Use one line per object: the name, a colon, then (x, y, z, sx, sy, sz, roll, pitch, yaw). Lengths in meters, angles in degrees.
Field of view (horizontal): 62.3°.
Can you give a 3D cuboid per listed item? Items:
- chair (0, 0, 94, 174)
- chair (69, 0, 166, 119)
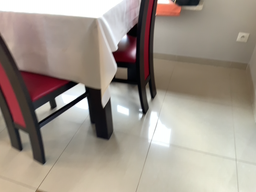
chair: (-0.530, -0.150, 1.120, 0.370, 1.030, 0.470, 18, 41, 24)
chair: (-0.040, -0.400, 1.420, 0.470, 1.030, 0.390, 12, 39, 17)
